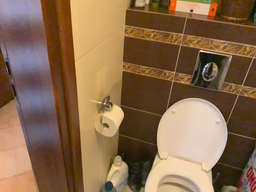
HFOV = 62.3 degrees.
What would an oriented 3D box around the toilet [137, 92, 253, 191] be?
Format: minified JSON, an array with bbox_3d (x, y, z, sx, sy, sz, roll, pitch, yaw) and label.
[{"bbox_3d":[0.280,0.490,1.170,0.380,0.810,0.530,14,34,12],"label":"toilet"}]
